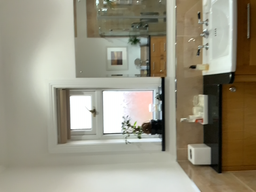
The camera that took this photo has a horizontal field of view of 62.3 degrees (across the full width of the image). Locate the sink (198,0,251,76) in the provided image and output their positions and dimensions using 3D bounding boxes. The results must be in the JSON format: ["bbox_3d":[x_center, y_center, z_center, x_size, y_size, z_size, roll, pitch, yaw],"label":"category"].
[{"bbox_3d":[0.720,-0.510,1.640,0.460,0.170,0.690,-143,53,-85],"label":"sink"}]

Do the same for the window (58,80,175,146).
[{"bbox_3d":[-0.100,0.140,1.980,0.240,1.020,0.570,-155,65,-86],"label":"window"}]
